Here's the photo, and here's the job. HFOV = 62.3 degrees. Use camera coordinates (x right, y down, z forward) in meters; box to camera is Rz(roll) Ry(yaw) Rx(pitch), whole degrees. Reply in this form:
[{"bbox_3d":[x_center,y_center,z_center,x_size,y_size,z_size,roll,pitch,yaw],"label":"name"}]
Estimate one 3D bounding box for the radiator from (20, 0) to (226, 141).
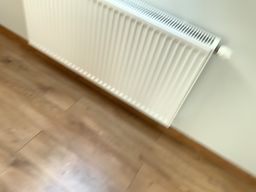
[{"bbox_3d":[-0.170,-0.300,1.320,1.170,0.800,0.160,30,47,13],"label":"radiator"}]
